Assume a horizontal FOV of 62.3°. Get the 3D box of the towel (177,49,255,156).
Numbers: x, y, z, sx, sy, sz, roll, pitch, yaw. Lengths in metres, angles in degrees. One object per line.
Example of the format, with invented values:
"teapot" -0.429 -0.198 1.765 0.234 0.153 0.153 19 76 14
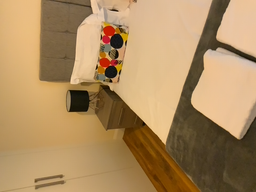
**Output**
"towel" 0.460 0.010 1.050 0.400 0.090 0.370 46 129 50
